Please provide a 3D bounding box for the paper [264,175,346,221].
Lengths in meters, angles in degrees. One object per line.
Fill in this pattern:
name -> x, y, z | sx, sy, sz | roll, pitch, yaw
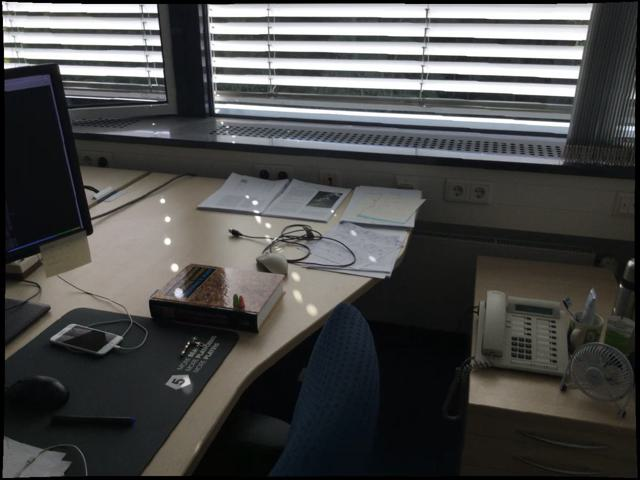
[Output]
paper -> -0.040, -0.140, 1.850 | 0.180, 0.020, 0.310 | 6, 27, 14

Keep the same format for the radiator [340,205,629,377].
radiator -> 0.579, 0.180, 2.230 | 0.979, 0.500, 0.230 | 6, 27, 14

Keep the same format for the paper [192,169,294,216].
paper -> -0.240, -0.160, 1.880 | 0.220, 0.020, 0.330 | 6, 27, 14
